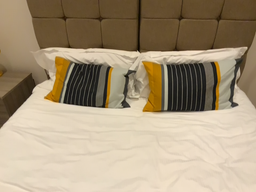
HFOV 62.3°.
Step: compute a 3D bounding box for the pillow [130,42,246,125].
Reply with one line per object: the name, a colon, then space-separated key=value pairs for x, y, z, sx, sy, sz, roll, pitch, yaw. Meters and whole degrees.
pillow: x=0.380 y=-0.050 z=1.380 sx=0.640 sy=0.350 sz=0.160 roll=-18 pitch=46 yaw=19
